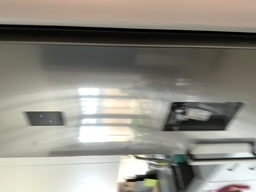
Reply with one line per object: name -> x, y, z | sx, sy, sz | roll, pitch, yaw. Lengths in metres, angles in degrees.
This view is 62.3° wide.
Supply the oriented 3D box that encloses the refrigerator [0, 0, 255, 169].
refrigerator -> 0.410, -0.180, 1.040 | 0.600, 1.990, 0.760 | 97, 170, -46
